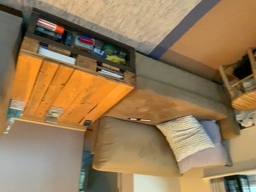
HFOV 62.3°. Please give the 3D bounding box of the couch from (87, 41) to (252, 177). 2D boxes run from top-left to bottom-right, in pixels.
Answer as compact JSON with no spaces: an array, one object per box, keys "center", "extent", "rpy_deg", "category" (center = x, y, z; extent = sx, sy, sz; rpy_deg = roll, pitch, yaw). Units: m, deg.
[{"center":[0.350,0.260,2.130],"extent":[1.190,0.880,0.880],"rpy_deg":[15,148,-28],"category":"couch"}]
